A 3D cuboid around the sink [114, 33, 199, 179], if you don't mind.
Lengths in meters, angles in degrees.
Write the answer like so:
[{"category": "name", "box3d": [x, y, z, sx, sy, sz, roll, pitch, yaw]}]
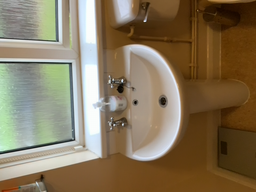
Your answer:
[{"category": "sink", "box3d": [0.120, 0.030, 1.000, 0.360, 0.200, 0.550, 4, 97, 56]}]
